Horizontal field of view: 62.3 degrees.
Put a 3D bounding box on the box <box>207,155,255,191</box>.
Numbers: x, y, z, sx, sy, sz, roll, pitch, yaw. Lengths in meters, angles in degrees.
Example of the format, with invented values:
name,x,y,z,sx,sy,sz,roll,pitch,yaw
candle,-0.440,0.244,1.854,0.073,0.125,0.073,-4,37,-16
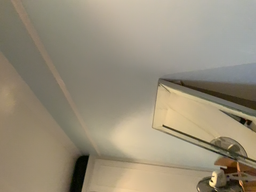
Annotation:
name,x,y,z,sx,sy,sz,roll,pitch,yaw
box,1.410,1.050,2.550,0.730,0.680,0.410,84,-167,-60
